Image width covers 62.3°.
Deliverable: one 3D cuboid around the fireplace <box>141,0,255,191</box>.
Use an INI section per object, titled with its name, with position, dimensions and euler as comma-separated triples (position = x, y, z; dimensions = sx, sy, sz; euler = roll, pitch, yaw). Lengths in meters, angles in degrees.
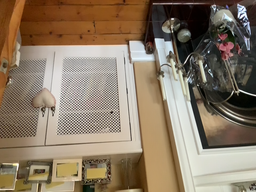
[fireplace]
position = 0.990, 0.110, 1.450
dimensions = 1.570, 1.630, 0.620
euler = -3, 152, -5
